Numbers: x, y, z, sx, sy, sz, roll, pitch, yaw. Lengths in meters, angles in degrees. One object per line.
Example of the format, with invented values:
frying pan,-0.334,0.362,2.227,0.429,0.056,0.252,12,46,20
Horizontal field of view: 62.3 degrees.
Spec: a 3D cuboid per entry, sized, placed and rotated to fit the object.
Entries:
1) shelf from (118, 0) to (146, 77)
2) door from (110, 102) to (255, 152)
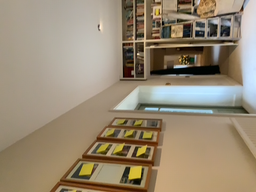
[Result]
shelf,0.080,-2.600,4.930,0.370,0.590,4.300,-38,-52,-74
door,0.890,0.390,3.450,1.780,1.920,0.100,-45,-45,-72
